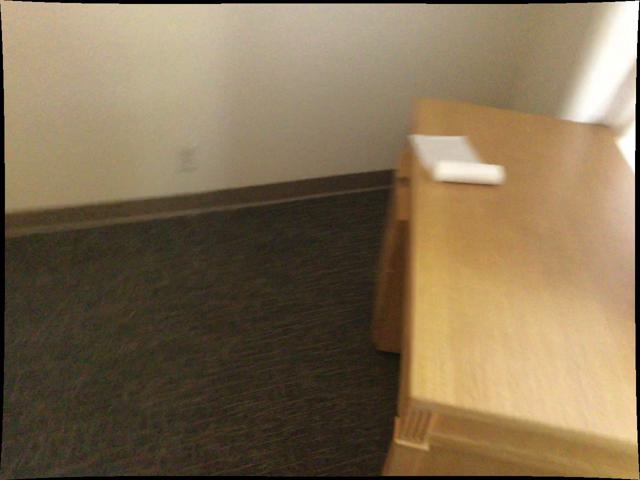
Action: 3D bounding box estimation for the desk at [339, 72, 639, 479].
[{"bbox_3d":[0.469,0.220,1.570,0.659,0.801,1.241,10,39,2],"label":"desk"}]

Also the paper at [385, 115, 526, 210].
[{"bbox_3d":[0.339,-0.210,1.490,0.230,0.080,0.290,-9,42,-20],"label":"paper"}]
